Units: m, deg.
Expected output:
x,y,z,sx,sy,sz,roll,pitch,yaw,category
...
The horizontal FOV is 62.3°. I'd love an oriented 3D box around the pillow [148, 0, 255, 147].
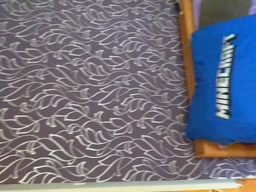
x,y,z,sx,sy,sz,roll,pitch,yaw,category
0.570,-0.090,1.260,0.250,0.720,0.750,-43,144,16,pillow
